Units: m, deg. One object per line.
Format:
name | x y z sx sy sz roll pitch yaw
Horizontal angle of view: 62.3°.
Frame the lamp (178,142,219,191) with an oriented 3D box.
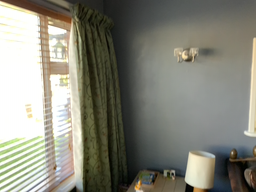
lamp | 0.650 0.760 1.990 0.320 0.510 0.400 2 8 17
